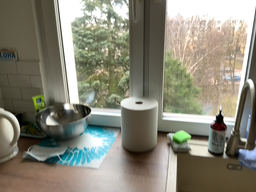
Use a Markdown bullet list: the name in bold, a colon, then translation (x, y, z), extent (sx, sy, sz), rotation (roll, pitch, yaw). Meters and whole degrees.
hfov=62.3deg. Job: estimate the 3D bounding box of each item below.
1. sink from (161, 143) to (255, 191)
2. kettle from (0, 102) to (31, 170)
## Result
- **sink**: translation (0.410, 0.420, 0.770), extent (0.570, 0.230, 0.450), rotation (4, 19, 12)
- **kettle**: translation (-0.600, 0.160, 0.930), extent (0.220, 0.210, 0.200), rotation (3, 19, 11)
